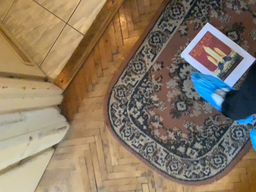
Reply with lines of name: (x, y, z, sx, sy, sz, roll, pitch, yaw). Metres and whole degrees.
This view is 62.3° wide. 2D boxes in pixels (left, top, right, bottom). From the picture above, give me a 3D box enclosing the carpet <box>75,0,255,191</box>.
carpet: (0.360, -0.150, 1.100, 0.800, 0.060, 1.120, 38, 97, 7)
